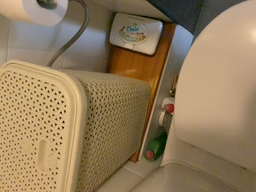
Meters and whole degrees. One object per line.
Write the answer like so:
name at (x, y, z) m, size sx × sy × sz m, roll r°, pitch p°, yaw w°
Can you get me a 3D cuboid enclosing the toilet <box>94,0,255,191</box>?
toilet at (0.310, 0.070, 0.690) m, size 0.360 × 0.830 × 0.670 m, roll 20°, pitch 105°, yaw 24°
